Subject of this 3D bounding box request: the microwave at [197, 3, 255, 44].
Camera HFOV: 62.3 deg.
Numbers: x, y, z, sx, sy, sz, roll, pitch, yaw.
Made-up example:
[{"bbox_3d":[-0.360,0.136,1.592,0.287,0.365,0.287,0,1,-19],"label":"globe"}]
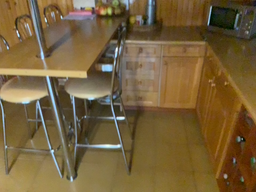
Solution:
[{"bbox_3d":[1.020,-0.750,2.140,0.360,0.270,0.450,-20,37,-30],"label":"microwave"}]
